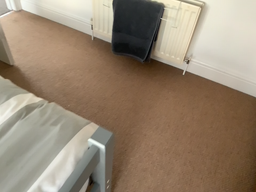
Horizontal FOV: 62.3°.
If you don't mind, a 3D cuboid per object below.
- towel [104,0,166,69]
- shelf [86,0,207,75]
[{"bbox_3d":[0.030,-0.560,1.800,0.440,0.540,0.160,25,49,14],"label":"towel"},{"bbox_3d":[0.080,-0.640,1.870,1.010,0.590,0.120,26,49,15],"label":"shelf"}]
